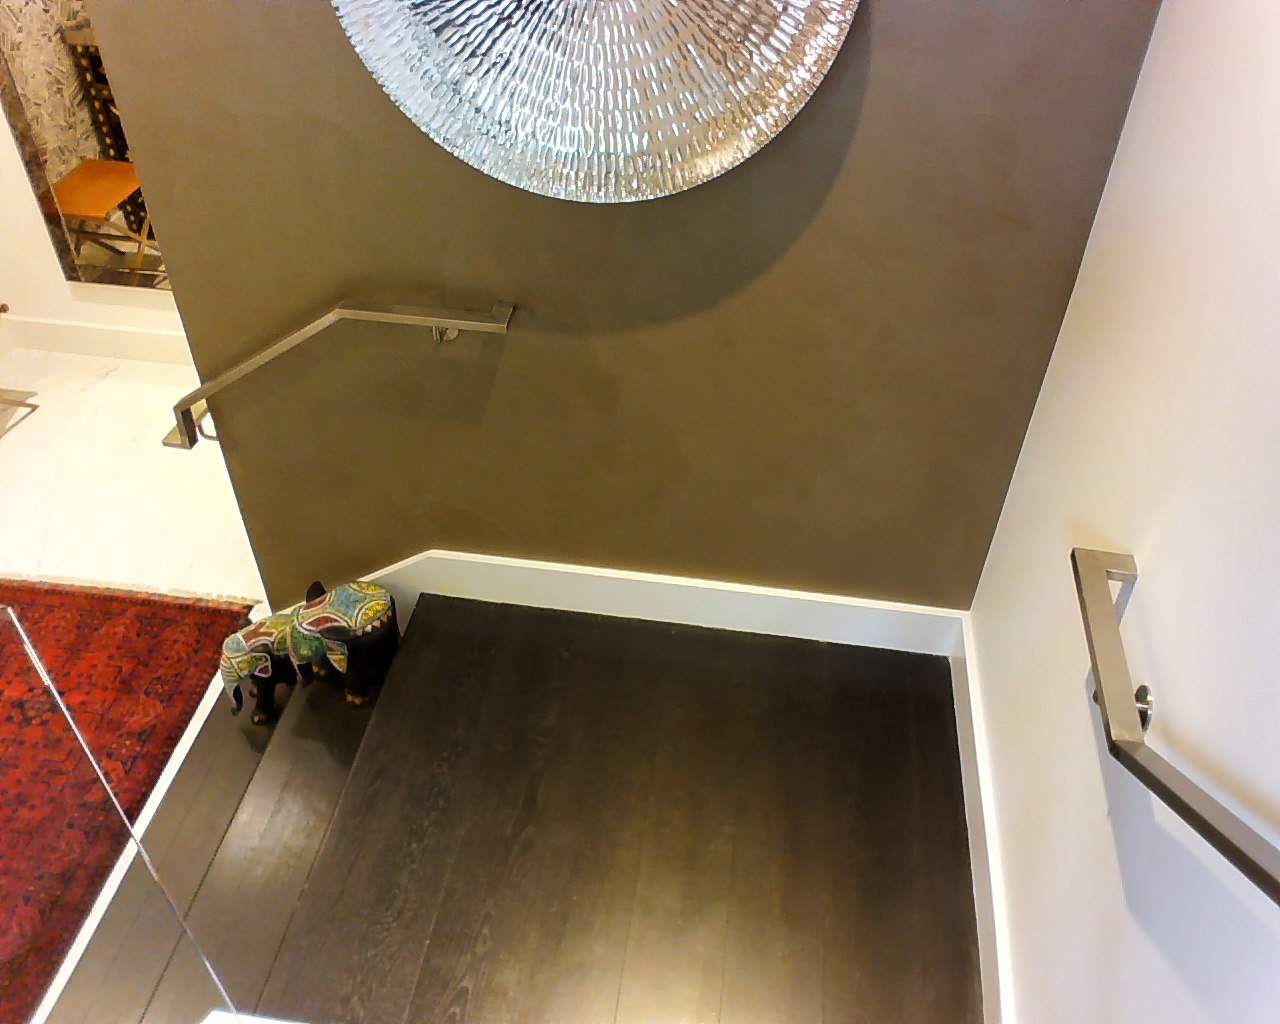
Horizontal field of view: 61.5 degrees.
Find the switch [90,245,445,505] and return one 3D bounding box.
[{"bbox_3d":[-0.750,-0.280,2.260,0.600,0.470,0.180,6,42,5],"label":"switch"}]
